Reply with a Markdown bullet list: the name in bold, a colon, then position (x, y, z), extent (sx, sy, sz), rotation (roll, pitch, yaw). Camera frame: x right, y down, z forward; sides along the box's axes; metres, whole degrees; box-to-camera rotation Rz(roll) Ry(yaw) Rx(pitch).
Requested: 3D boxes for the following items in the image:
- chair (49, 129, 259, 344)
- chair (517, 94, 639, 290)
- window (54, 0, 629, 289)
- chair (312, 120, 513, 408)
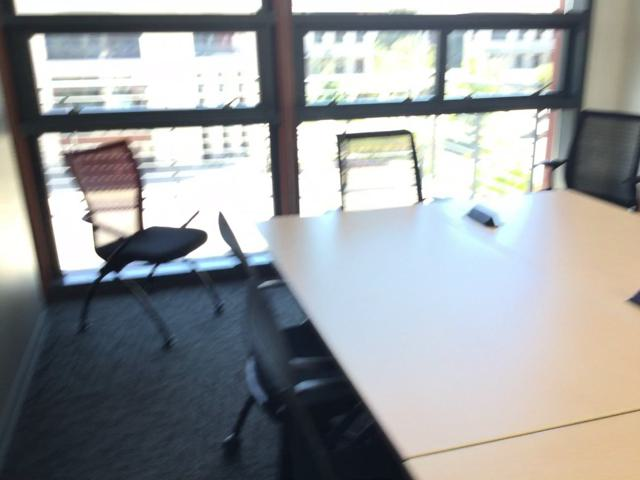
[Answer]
- **chair**: position (-0.830, -0.070, 3.030), extent (0.640, 0.900, 0.650), rotation (8, 23, 33)
- **chair**: position (1.690, -0.330, 3.370), extent (0.690, 0.920, 0.690), rotation (-15, 23, -31)
- **window**: position (0.210, -1.190, 3.340), extent (3.200, 2.790, 0.210), rotation (-5, 21, -6)
- **chair**: position (0.370, 0.050, 2.560), extent (0.590, 1.000, 0.740), rotation (-8, 20, -11)
